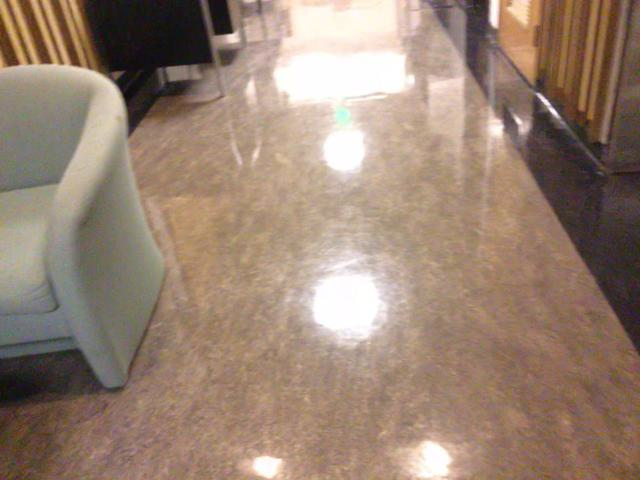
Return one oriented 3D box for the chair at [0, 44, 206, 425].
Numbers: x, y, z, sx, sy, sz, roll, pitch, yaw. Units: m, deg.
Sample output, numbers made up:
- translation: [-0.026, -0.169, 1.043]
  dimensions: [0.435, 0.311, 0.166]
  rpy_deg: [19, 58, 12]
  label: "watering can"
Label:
- translation: [-0.980, -0.050, 1.850]
  dimensions: [0.900, 0.800, 0.930]
  rpy_deg: [-5, 33, 4]
  label: "chair"
